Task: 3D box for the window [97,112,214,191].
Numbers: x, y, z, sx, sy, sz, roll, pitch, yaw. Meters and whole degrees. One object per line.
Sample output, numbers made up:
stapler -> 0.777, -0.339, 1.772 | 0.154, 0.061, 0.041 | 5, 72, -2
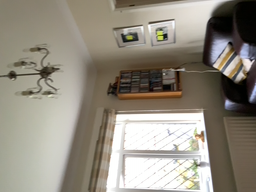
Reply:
window -> 0.370, 1.030, 2.990 | 0.370, 1.450, 1.610 | 74, -163, -53
